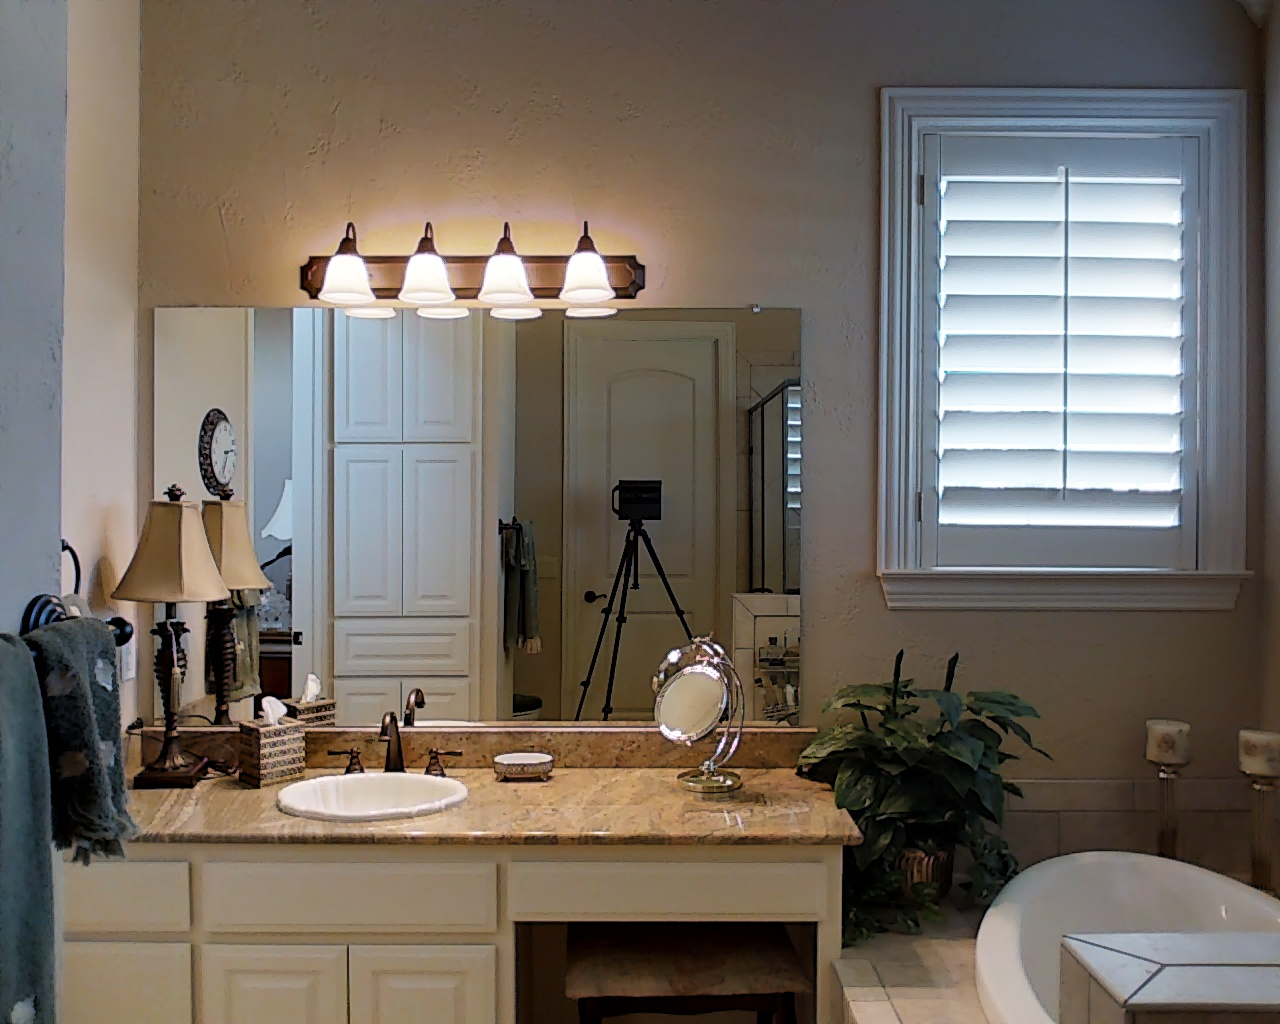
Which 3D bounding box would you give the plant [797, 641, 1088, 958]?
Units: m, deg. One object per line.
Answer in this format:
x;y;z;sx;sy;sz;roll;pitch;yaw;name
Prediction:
0.710;0.670;2.640;0.570;0.640;0.490;1;0;0;plant

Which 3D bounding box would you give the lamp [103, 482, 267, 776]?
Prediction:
-1.140;0.280;2.720;0.280;0.700;0.300;1;0;0;lamp

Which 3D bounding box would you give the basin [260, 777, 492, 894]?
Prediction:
-0.610;0.760;2.560;0.470;0.170;0.350;1;0;-1;basin
